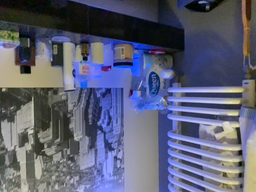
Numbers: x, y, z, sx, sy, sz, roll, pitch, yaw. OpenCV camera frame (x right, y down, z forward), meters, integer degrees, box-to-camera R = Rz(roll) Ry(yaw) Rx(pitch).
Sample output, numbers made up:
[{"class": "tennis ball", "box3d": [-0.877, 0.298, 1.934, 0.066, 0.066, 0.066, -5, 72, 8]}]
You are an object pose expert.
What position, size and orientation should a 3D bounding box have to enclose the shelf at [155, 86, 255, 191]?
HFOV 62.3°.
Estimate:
[{"class": "shelf", "box3d": [0.360, 0.340, 0.940, 0.220, 0.760, 0.440, -2, -178, -41]}]
